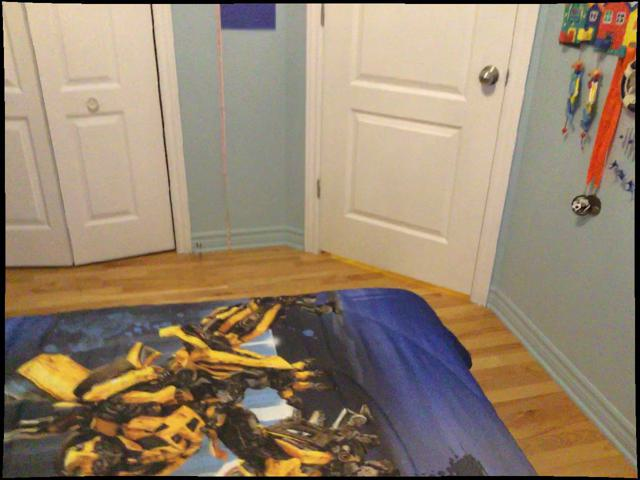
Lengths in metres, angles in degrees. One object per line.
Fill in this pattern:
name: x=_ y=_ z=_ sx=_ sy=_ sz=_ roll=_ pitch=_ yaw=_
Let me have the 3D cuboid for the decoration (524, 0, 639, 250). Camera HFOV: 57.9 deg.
decoration: x=0.809 y=-0.380 z=1.710 sx=0.030 sy=0.671 sz=0.490 roll=-7 pitch=29 yaw=-13
